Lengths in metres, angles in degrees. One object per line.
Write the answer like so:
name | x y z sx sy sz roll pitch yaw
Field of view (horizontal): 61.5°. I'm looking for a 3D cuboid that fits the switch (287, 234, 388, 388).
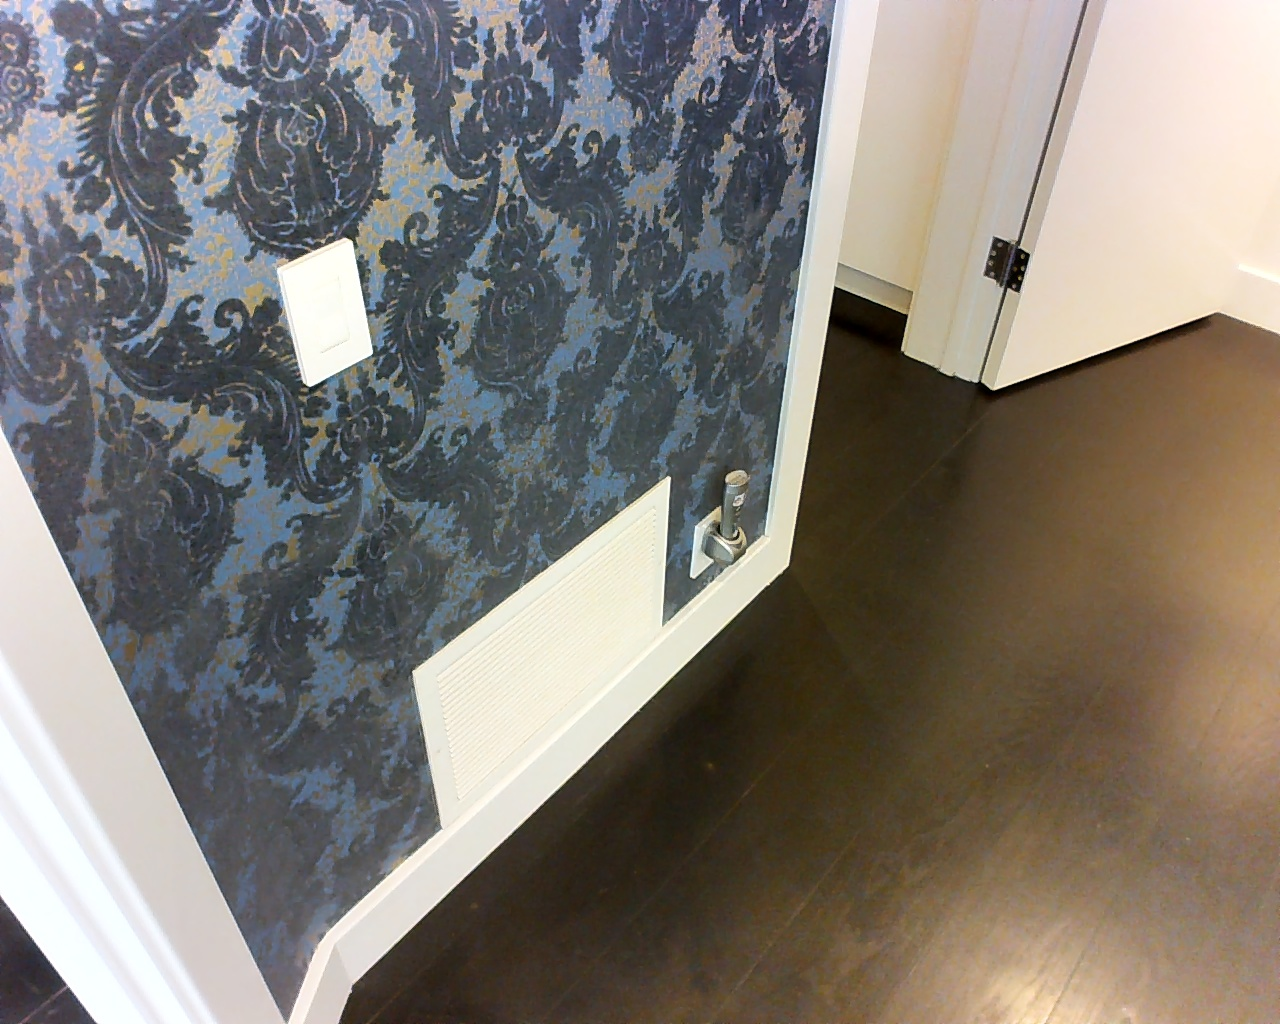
switch | -0.270 -0.180 0.970 0.010 0.120 0.080 31 49 29
